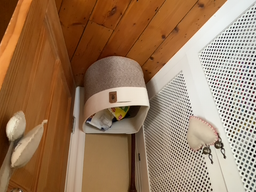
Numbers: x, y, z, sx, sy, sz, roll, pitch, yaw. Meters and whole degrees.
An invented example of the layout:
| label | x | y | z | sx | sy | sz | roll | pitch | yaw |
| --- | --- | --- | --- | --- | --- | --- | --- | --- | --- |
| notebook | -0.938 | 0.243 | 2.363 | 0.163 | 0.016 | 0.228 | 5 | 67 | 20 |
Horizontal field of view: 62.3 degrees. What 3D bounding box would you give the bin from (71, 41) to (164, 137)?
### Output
| label | x | y | z | sx | sy | sz | roll | pitch | yaw |
| --- | --- | --- | --- | --- | --- | --- | --- | --- | --- |
| bin | -0.090 | -0.010 | 1.340 | 0.390 | 0.340 | 0.450 | 14 | 142 | -26 |
